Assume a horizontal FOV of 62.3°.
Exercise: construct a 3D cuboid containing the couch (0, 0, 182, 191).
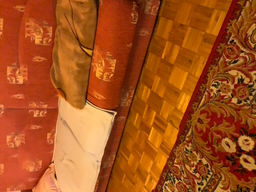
[{"bbox_3d":[-0.660,0.180,1.720,1.040,1.050,2.440,41,126,42],"label":"couch"}]
